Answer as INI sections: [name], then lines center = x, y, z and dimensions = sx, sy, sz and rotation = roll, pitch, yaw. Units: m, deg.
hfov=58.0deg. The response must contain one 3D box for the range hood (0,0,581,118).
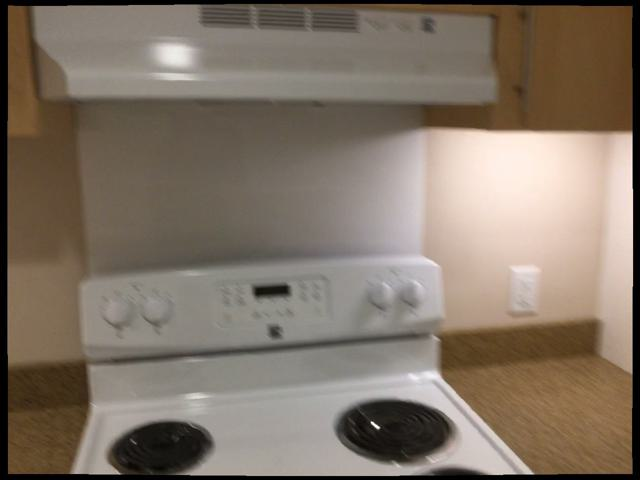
[range hood]
center = -0.050, -0.311, 0.920
dimensions = 0.908, 0.200, 0.210
rotation = -4, 16, -15
